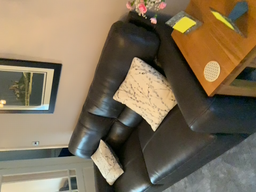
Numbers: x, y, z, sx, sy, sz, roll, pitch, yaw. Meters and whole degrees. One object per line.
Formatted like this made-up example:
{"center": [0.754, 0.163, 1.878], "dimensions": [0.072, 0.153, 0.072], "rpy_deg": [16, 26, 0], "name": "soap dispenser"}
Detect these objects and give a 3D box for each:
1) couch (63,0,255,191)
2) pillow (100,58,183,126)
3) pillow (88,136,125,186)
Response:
{"center": [0.010, 0.390, 2.210], "dimensions": [2.300, 0.940, 1.030], "rpy_deg": [121, 143, -45], "name": "couch"}
{"center": [0.120, 0.000, 1.690], "dimensions": [0.500, 0.450, 0.180], "rpy_deg": [-23, 53, 17], "name": "pillow"}
{"center": [-0.290, 0.800, 2.590], "dimensions": [0.540, 0.240, 0.400], "rpy_deg": [121, 143, -45], "name": "pillow"}
